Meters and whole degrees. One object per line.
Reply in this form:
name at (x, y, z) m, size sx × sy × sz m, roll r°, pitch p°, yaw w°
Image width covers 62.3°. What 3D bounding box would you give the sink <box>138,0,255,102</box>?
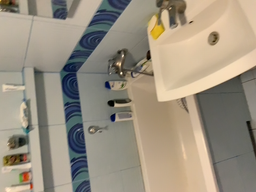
sink at (0.320, -0.250, 1.000) m, size 0.610 × 0.170 × 0.400 m, roll -30°, pitch 67°, yaw 55°
